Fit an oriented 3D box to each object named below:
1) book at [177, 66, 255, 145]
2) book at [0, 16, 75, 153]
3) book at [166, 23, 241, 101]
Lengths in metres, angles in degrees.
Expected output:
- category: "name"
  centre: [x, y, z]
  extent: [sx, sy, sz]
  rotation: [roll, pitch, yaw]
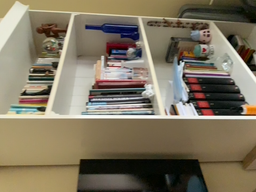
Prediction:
- category: "book"
  centre: [0.490, 0.050, 1.160]
  extent: [0.340, 0.310, 0.260]
  rotation: [-96, 10, -45]
- category: "book"
  centre: [-0.510, -0.150, 1.310]
  extent: [0.960, 0.230, 0.300]
  rotation: [-96, 10, -47]
- category: "book"
  centre: [0.470, -0.240, 1.440]
  extent: [0.460, 0.260, 0.320]
  rotation: [-96, 10, -48]
